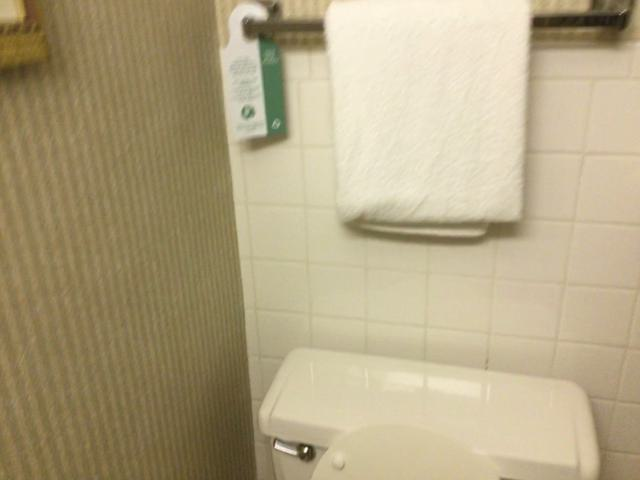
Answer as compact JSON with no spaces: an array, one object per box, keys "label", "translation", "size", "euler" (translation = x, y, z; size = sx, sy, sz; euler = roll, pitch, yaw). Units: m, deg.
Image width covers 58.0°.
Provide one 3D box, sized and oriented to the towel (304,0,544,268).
[{"label":"towel","translation":[0.150,-0.160,0.830],"size":[0.290,0.370,0.130],"euler":[1,23,15]}]
